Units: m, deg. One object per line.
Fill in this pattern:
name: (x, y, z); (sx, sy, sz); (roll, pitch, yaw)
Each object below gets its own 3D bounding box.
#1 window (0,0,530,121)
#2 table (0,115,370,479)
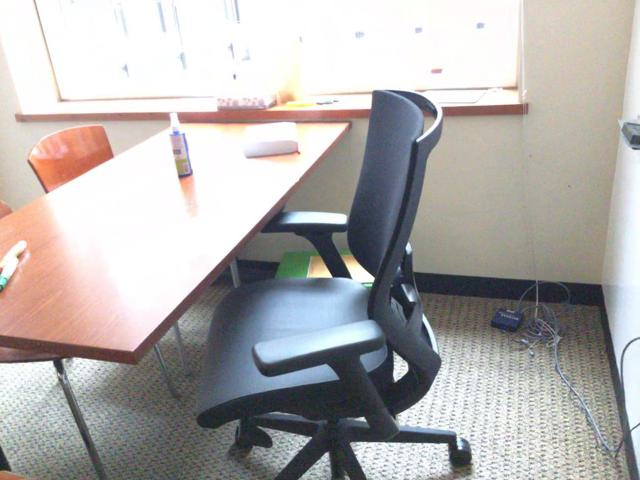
window: (-0.300, -1.090, 2.340); (2.190, 1.090, 0.520); (4, 26, 19)
table: (-0.480, 0.180, 1.880); (0.910, 0.830, 1.490); (4, 26, 19)
